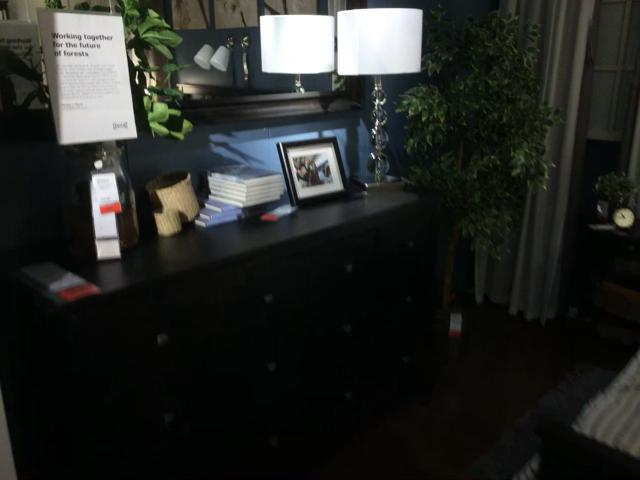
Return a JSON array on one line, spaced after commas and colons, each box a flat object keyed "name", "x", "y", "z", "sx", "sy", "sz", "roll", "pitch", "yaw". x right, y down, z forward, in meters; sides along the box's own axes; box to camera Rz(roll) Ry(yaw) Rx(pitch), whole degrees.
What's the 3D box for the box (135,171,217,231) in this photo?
[{"name": "box", "x": -0.460, "y": -0.130, "z": 1.840, "sx": 0.170, "sy": 0.140, "sz": 0.190, "roll": -17, "pitch": 19, "yaw": -34}]
